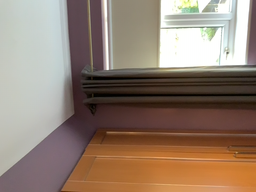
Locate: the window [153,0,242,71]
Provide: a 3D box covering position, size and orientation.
[{"bbox_3d":[0.590,-1.030,1.780,0.120,0.710,1.620,-74,-15,-77],"label":"window"}]
